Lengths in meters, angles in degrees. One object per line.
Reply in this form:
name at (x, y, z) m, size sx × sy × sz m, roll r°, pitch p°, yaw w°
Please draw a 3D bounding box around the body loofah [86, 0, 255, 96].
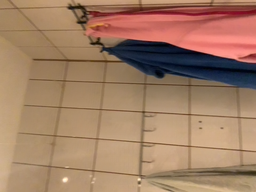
body loofah at (0.430, -0.150, 0.830) m, size 0.460 × 1.060 × 0.190 m, roll 59°, pitch -145°, yaw -76°
